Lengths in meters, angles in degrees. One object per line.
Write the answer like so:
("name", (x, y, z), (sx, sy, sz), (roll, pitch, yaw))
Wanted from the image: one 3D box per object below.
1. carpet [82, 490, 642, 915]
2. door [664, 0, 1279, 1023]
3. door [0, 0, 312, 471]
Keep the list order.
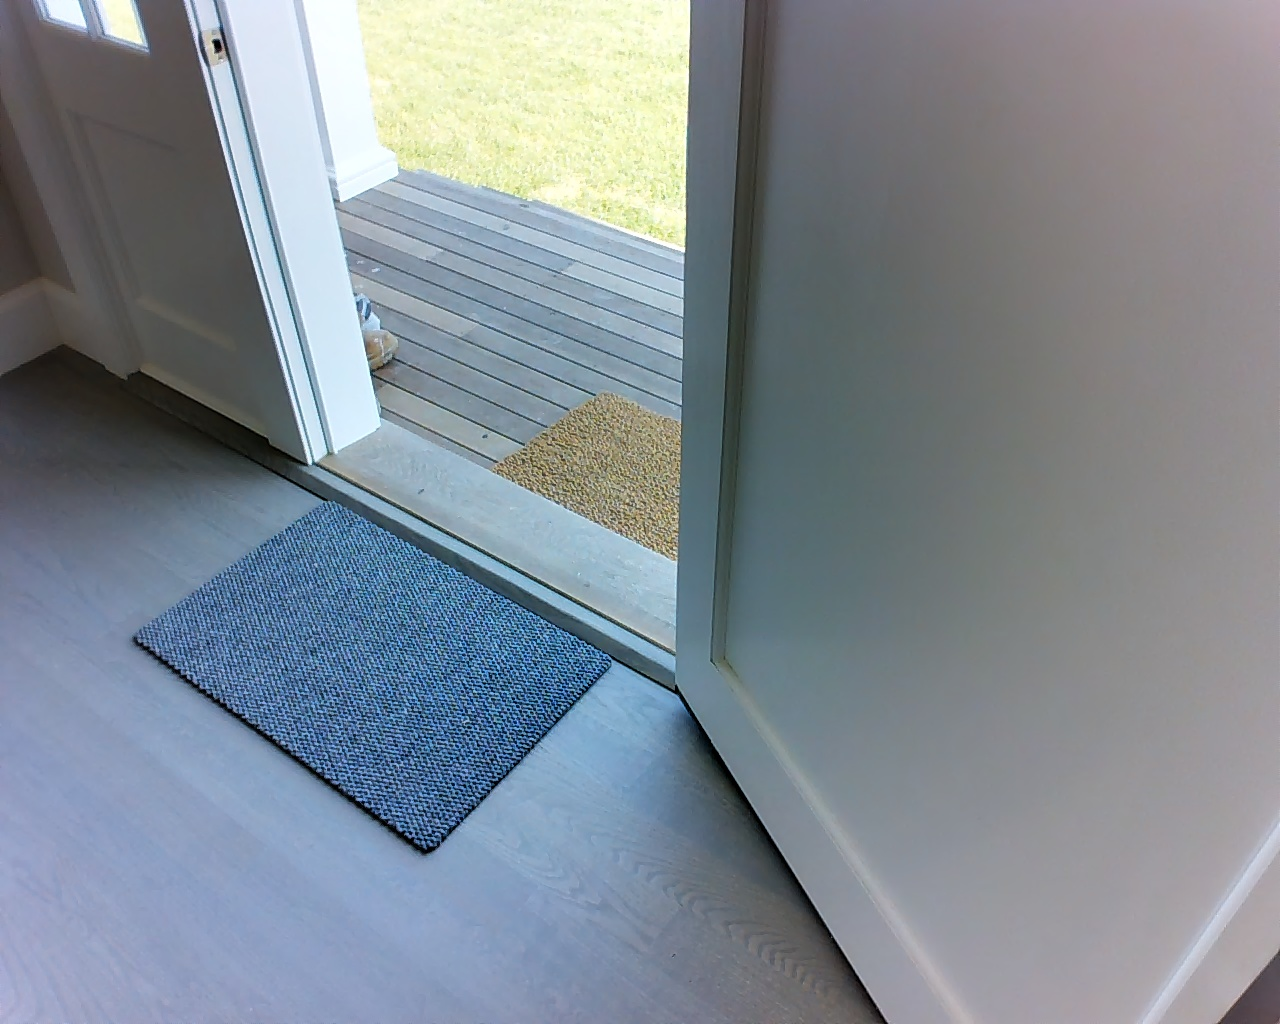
("carpet", (-0.540, 0.290, 2.060), (0.930, 0.020, 0.570), (26, 48, 27))
("door", (0.290, -0.120, 0.940), (0.060, 2.080, 1.060), (-18, 44, -18))
("door", (-1.110, -1.040, 1.960), (0.810, 2.060, 0.070), (25, 48, 27))
